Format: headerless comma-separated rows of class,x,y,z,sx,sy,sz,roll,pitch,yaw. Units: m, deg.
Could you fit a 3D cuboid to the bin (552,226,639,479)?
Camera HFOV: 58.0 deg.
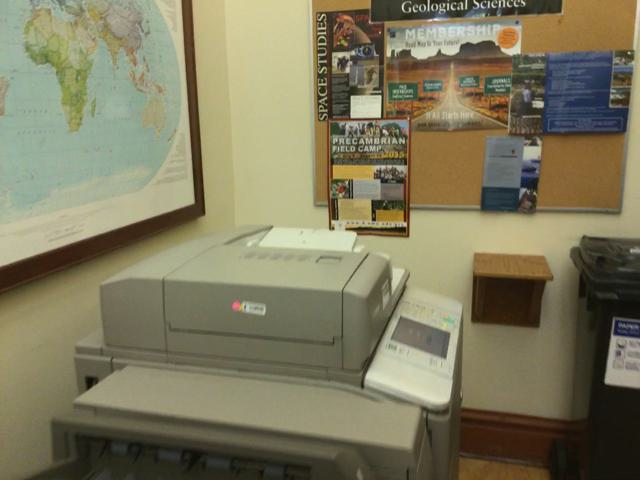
bin,1.100,0.510,1.960,0.470,1.030,0.490,3,12,15
